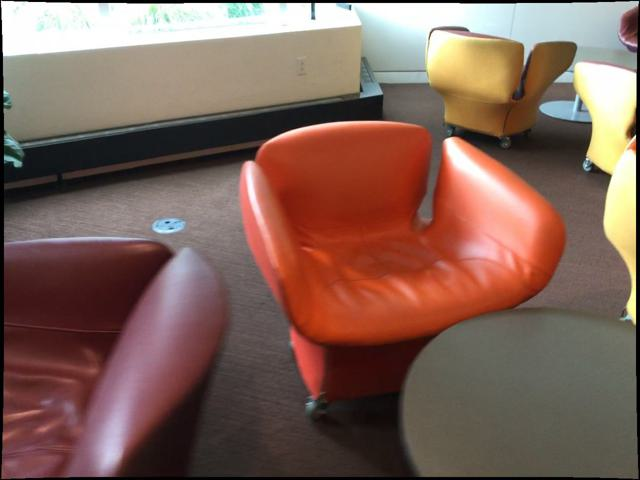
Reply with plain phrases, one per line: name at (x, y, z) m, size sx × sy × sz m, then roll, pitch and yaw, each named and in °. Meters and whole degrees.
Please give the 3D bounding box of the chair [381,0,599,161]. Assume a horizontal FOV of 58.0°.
chair at (1.137, -1.173, 4.030) m, size 0.889 × 0.781 × 1.069 m, roll -25°, pitch 37°, yaw -36°

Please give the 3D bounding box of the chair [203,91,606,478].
chair at (0.190, 0.050, 1.950) m, size 0.918 × 0.801 × 0.860 m, roll -11°, pitch 31°, yaw -17°
